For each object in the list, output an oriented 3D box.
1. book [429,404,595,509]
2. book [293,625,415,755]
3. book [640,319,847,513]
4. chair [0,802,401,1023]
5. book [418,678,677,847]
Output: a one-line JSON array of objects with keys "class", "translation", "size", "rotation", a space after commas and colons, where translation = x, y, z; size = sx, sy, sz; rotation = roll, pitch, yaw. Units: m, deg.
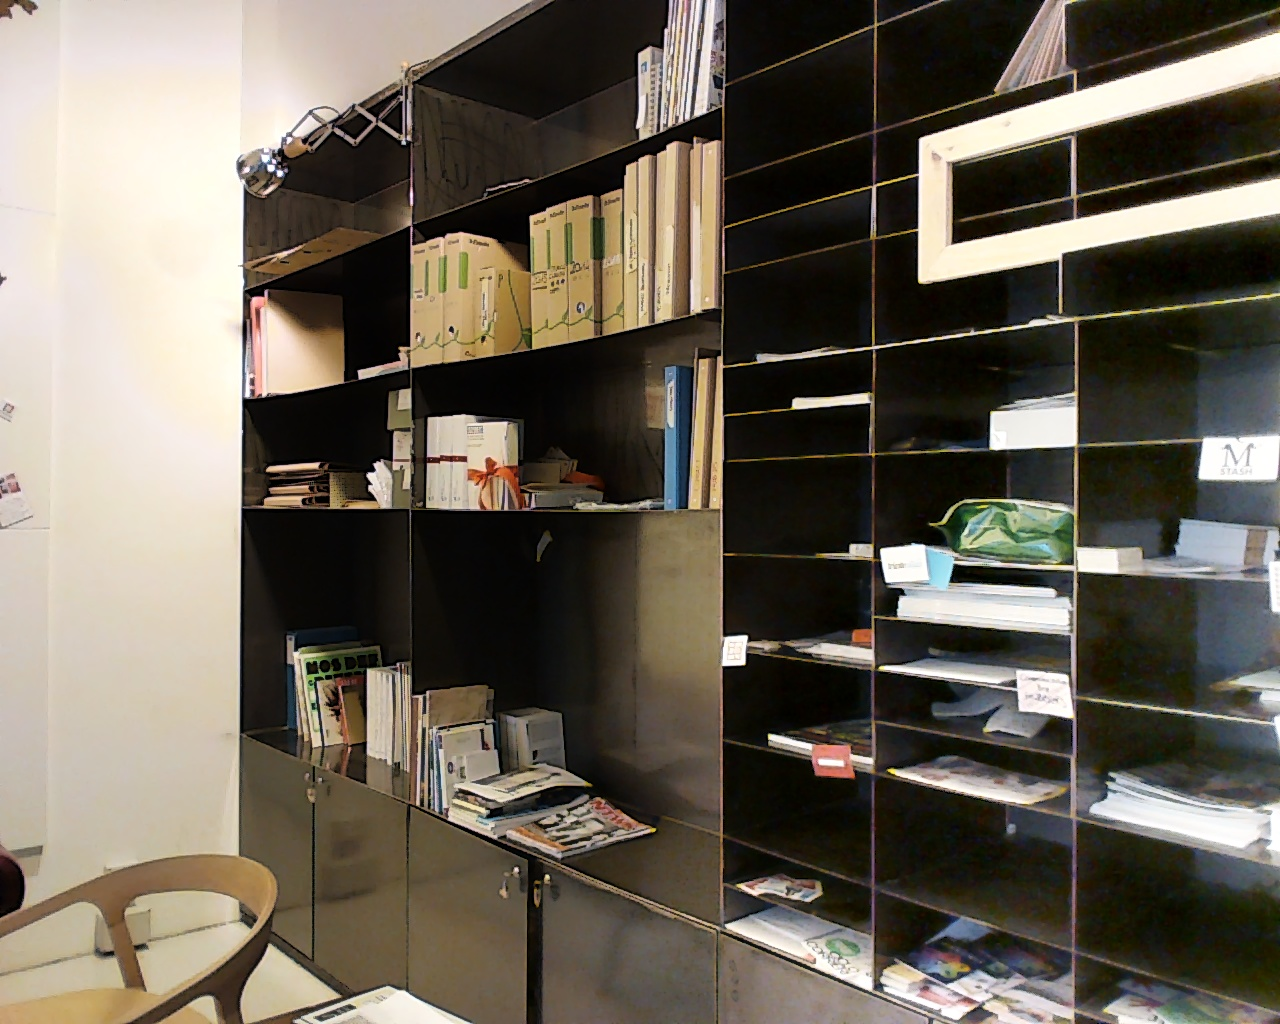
[{"class": "book", "translation": [-0.350, -0.140, 2.930], "size": [0.370, 0.260, 0.270], "rotation": [0, 0, 42]}, {"class": "book", "translation": [-1.020, 0.620, 3.830], "size": [0.310, 0.390, 0.320], "rotation": [1, 0, -40]}, {"class": "book", "translation": [0.220, -0.190, 2.350], "size": [0.290, 0.380, 0.350], "rotation": [1, 0, -35]}, {"class": "chair", "translation": [-0.960, 1.060, 2.130], "size": [0.770, 0.710, 0.620], "rotation": [0, 0, 44]}, {"class": "book", "translation": [-0.260, 0.620, 2.790], "size": [0.350, 0.260, 0.700], "rotation": [1, 0, -37]}]
